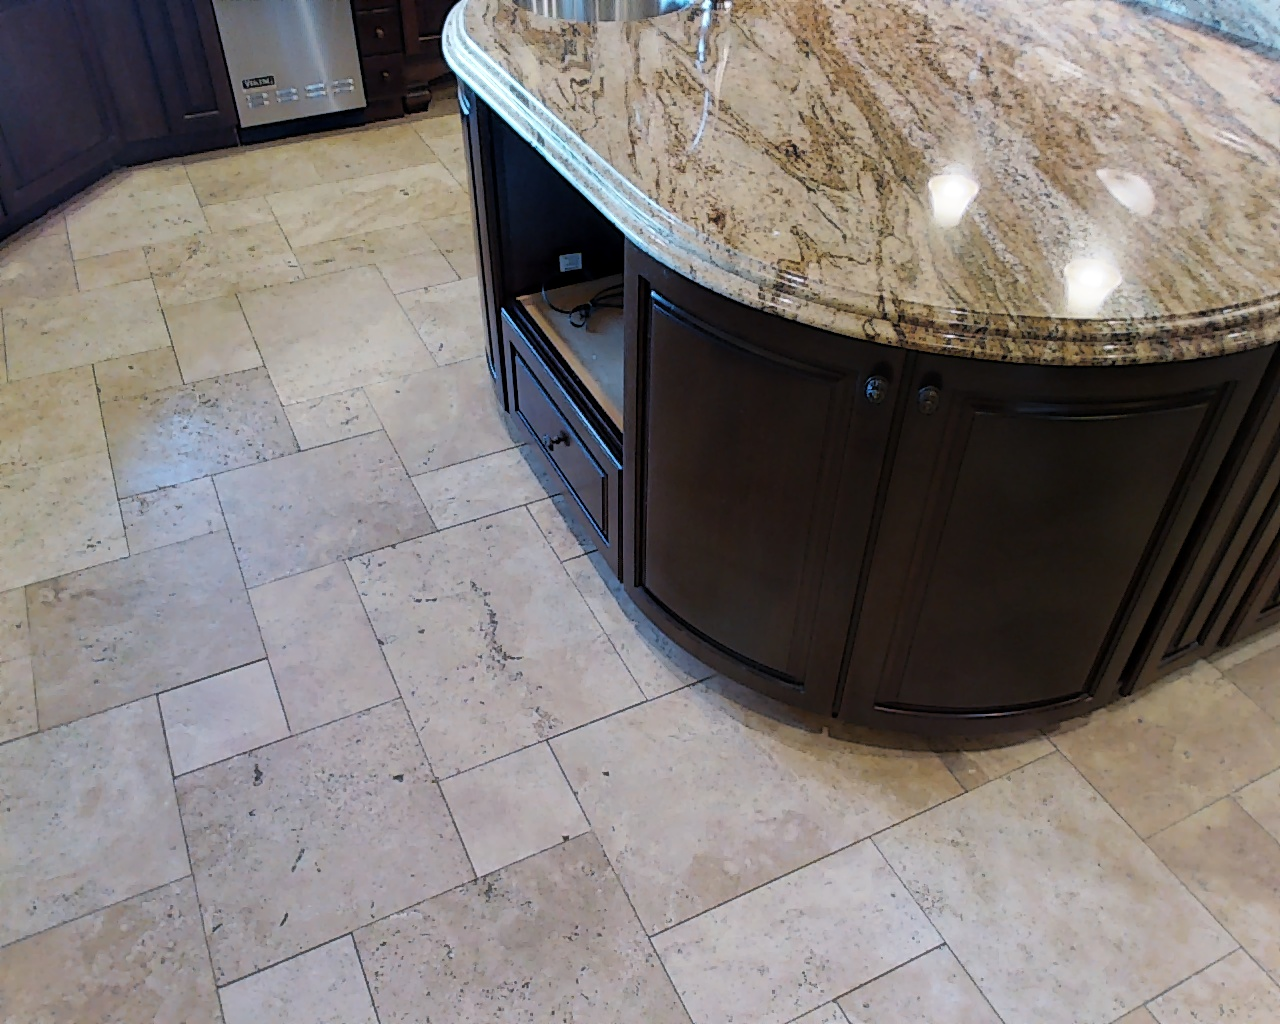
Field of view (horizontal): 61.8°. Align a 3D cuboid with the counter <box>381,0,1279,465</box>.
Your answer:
[{"bbox_3d":[0.440,-0.850,2.000,1.390,0.100,1.860,-18,45,-20],"label":"counter"}]
